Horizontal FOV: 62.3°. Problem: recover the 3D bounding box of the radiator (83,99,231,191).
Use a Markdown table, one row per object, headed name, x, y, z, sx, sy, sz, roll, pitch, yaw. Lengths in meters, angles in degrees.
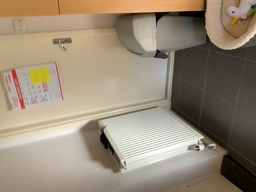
| name | x | y | z | sx | sy | sz | roll | pitch | yaw |
| --- | --- | --- | --- | --- | --- | --- | --- | --- | --- |
| radiator | 0.190 | 0.370 | 1.910 | 0.880 | 0.980 | 0.210 | -139 | 43 | -58 |
